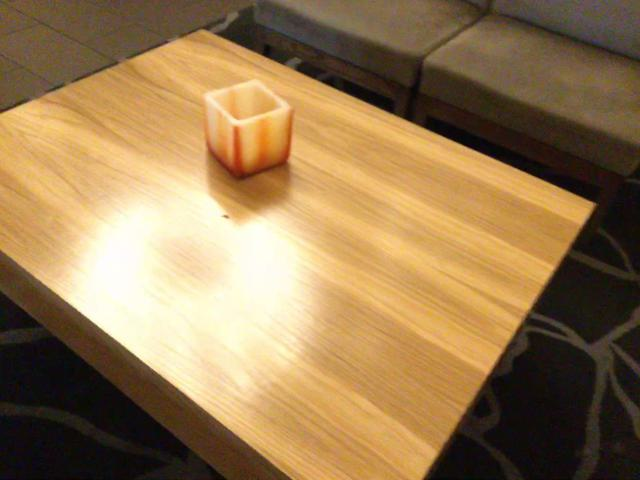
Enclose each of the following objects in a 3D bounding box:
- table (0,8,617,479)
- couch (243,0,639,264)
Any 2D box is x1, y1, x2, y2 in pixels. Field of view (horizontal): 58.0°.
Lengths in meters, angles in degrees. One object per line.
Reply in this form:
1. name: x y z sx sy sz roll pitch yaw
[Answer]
1. table: -0.160 0.020 1.390 1.250 0.510 0.970 32 48 23
2. couch: 0.540 -0.770 2.050 1.510 0.830 0.730 32 48 23
